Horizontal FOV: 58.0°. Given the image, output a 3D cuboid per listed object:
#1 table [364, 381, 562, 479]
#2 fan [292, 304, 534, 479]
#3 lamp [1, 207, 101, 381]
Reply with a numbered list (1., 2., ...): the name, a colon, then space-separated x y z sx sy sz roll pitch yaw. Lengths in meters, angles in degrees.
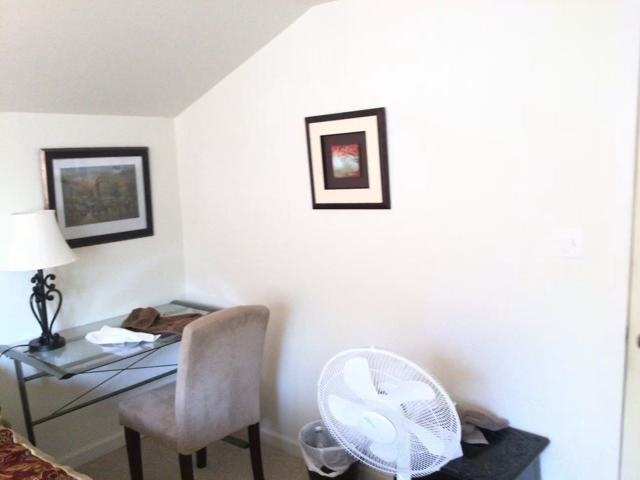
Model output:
1. table: 0.520 0.930 2.140 0.550 0.560 0.450 8 13 41
2. fan: 0.290 0.780 1.810 0.510 0.990 0.530 8 13 41
3. lamp: -1.190 0.220 2.560 0.340 0.690 0.230 8 13 41
